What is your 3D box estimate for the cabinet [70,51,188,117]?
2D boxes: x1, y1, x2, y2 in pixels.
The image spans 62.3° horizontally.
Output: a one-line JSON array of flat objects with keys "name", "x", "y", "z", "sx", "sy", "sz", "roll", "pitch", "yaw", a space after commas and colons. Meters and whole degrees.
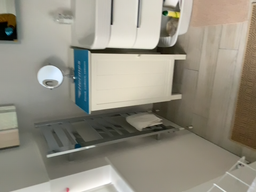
[{"name": "cabinet", "x": 0.010, "y": -0.140, "z": 1.740, "sx": 0.420, "sy": 0.850, "sz": 0.410, "roll": 24, "pitch": 115, "yaw": 56}]

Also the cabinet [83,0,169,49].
[{"name": "cabinet", "x": -0.030, "y": -0.720, "z": 1.510, "sx": 0.480, "sy": 0.440, "sz": 0.720, "roll": 24, "pitch": 115, "yaw": 56}]
